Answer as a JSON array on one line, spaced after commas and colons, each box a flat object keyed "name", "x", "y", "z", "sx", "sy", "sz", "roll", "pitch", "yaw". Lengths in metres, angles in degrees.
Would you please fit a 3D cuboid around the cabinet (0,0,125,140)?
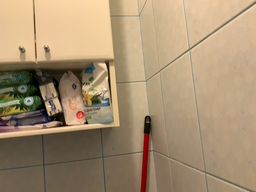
[{"name": "cabinet", "x": -0.320, "y": -0.290, "z": 0.770, "sx": 0.510, "sy": 0.850, "sz": 0.210, "roll": -4, "pitch": -6, "yaw": -11}]
